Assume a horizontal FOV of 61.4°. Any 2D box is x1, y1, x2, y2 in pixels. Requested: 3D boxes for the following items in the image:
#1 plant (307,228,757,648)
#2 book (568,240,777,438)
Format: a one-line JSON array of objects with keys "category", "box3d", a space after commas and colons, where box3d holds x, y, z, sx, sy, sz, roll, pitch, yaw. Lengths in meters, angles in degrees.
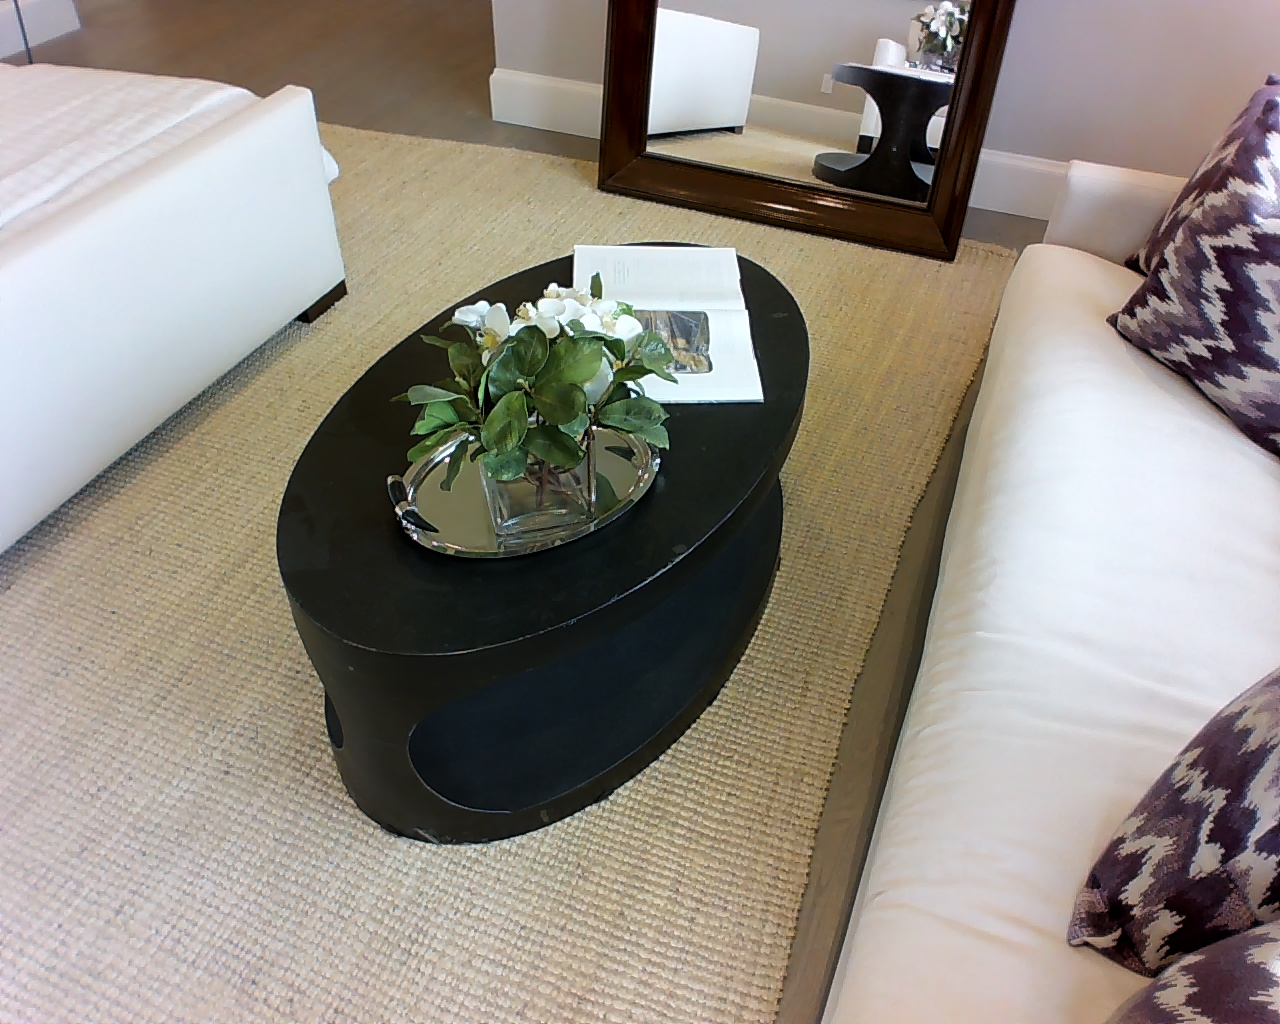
[{"category": "plant", "box3d": [-0.130, -0.130, 1.570, 0.460, 0.320, 0.440, 16, 43, 16]}, {"category": "book", "box3d": [0.040, -0.350, 2.050, 0.350, 0.050, 0.610, -1, 41, -3]}]
